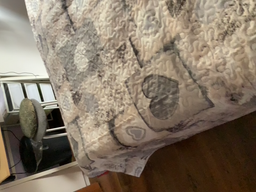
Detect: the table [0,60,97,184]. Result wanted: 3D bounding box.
[{"bbox_3d":[-0.860,0.230,1.850,0.680,0.700,0.810,-34,70,40],"label":"table"}]
